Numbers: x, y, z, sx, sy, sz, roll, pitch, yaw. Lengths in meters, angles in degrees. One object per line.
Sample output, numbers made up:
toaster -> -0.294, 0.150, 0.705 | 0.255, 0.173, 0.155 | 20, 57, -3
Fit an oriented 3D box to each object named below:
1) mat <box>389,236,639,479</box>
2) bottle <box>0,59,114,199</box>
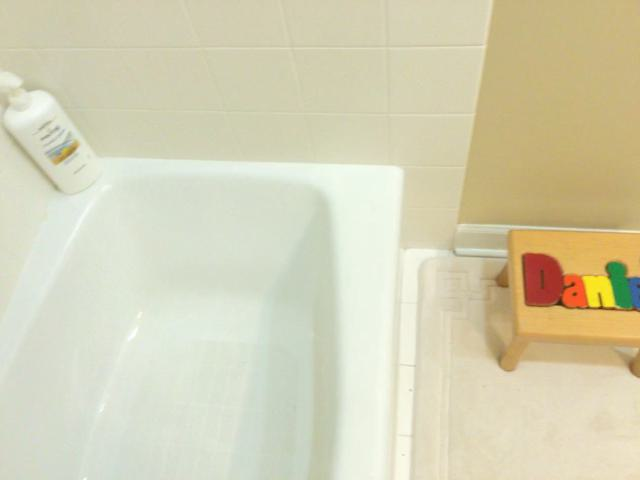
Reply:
mat -> 0.460, 0.420, 1.110 | 0.640, 0.100, 0.910 | 2, 60, 10
bottle -> -0.510, -0.200, 1.100 | 0.090, 0.280, 0.100 | 3, 60, 11
